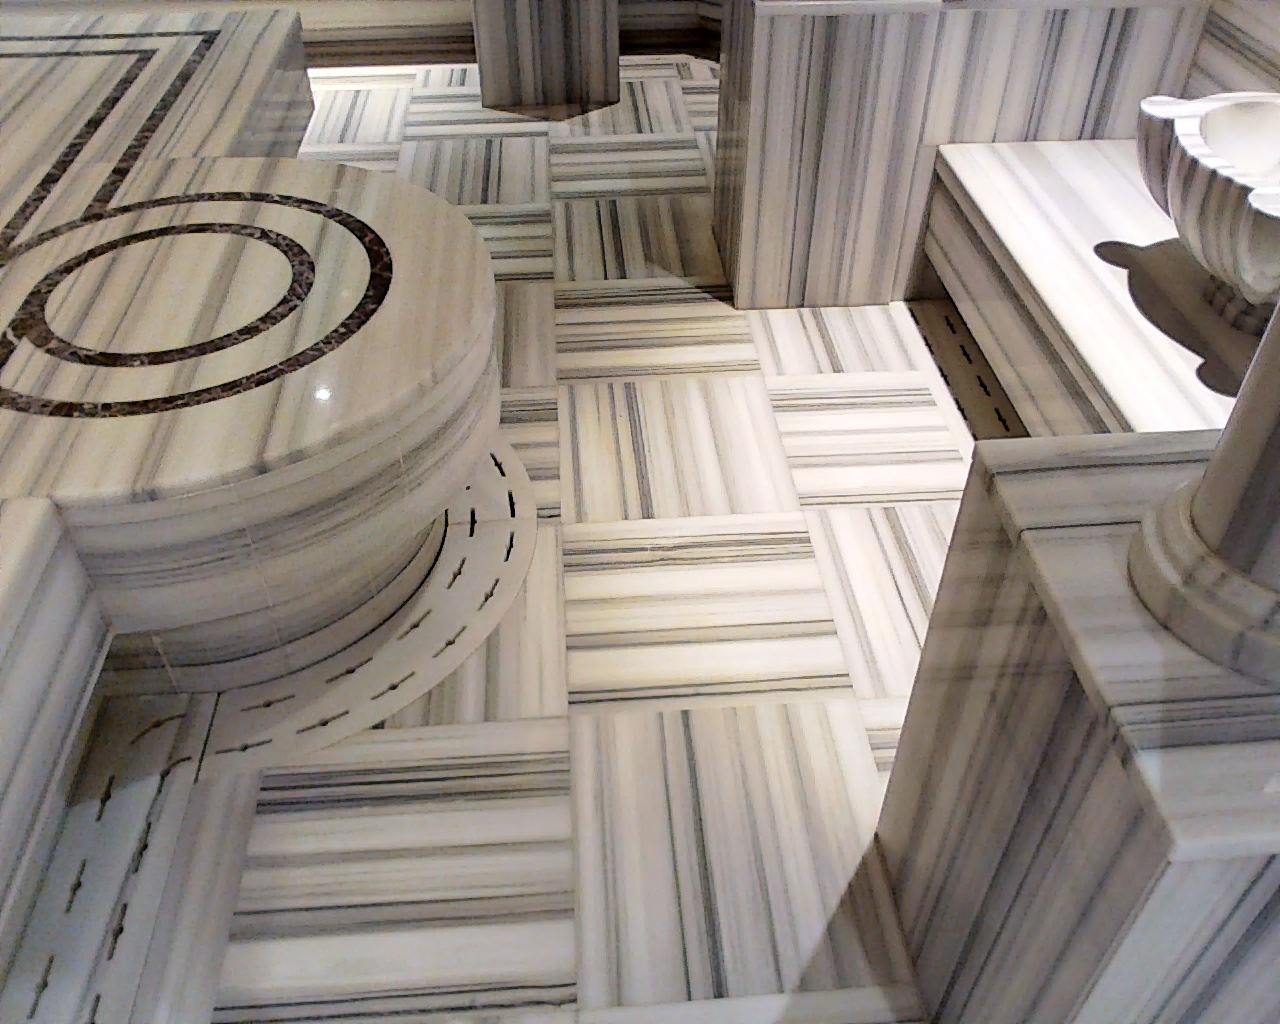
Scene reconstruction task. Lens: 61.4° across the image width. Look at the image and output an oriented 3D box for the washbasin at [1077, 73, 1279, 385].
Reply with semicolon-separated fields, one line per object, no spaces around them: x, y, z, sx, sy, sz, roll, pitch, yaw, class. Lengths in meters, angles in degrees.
1.240;-0.570;2.100;0.470;0.350;0.590;-2;42;-3;washbasin
